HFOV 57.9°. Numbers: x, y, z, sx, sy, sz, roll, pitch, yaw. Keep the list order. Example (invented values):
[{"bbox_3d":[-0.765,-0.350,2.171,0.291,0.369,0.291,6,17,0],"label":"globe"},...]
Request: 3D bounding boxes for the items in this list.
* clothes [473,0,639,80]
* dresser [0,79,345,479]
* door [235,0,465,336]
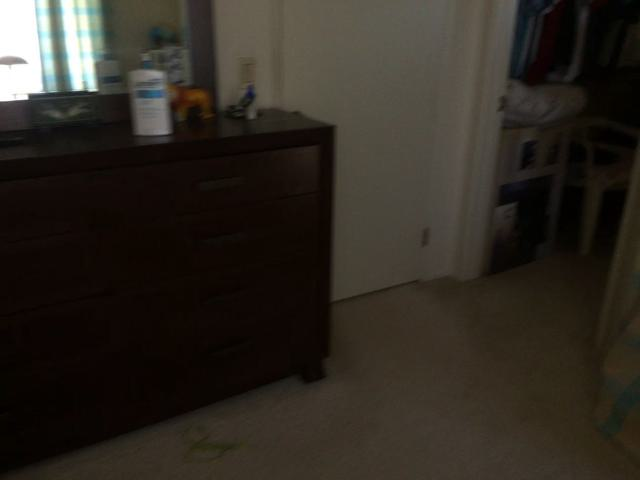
[{"bbox_3d":[1.450,-1.310,3.000,1.410,0.850,0.290,-12,21,-28],"label":"clothes"},{"bbox_3d":[-0.720,0.100,1.780,1.580,1.060,0.470,-12,21,-28],"label":"dresser"},{"bbox_3d":[0.160,-0.510,2.400,0.980,1.700,0.130,-12,21,-28],"label":"door"}]
